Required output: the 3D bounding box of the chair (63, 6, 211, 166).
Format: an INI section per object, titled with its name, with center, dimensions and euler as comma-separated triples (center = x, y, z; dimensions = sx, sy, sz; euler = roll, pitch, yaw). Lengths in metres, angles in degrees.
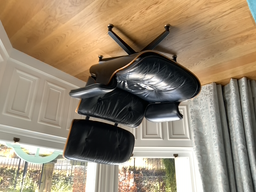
[chair]
center = 0.020, 0.040, 1.570
dimensions = 0.570, 0.830, 0.830
euler = 19, 151, -36
